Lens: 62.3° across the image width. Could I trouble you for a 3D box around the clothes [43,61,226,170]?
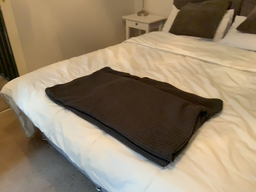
[{"bbox_3d":[0.000,0.000,1.140,0.840,0.040,0.520,25,38,35],"label":"clothes"}]
